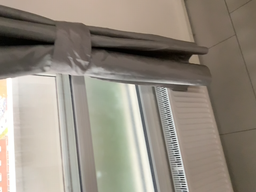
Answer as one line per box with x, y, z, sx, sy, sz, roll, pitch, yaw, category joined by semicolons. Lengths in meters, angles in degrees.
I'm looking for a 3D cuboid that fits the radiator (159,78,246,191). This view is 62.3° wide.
0.480;0.400;1.240;0.070;0.510;1.010;-25;69;49;radiator
